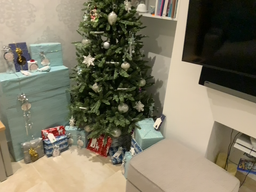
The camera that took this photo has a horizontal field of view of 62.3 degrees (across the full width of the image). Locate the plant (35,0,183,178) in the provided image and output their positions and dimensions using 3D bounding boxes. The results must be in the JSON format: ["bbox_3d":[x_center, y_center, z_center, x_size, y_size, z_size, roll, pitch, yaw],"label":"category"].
[{"bbox_3d":[-0.170,-0.240,2.060,1.010,1.610,0.730,15,28,22],"label":"plant"}]

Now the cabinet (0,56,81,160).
[{"bbox_3d":[-0.840,0.080,2.070,0.270,0.780,0.700,22,31,33],"label":"cabinet"}]
